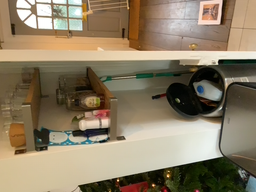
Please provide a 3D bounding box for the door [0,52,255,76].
[{"bbox_3d":[0.020,-0.220,1.260,0.960,1.960,0.070,-151,59,-67],"label":"door"}]

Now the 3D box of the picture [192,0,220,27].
[{"bbox_3d":[0.740,-0.790,2.040,0.310,0.050,0.220,-141,51,-65],"label":"picture"}]
